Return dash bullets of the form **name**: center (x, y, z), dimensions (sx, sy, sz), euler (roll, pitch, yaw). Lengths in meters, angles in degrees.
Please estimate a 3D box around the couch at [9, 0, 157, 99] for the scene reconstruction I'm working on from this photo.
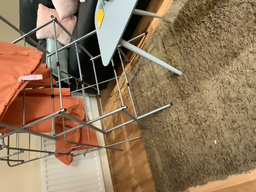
- **couch**: center (-0.520, -0.720, 1.900), dimensions (1.500, 0.900, 0.850), euler (-54, 43, 50)
